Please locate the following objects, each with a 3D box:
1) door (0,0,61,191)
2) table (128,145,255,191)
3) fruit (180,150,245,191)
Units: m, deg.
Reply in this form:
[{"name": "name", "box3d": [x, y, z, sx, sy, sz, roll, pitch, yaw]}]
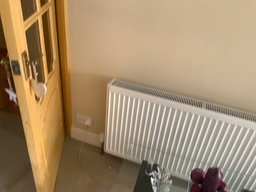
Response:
[{"name": "door", "box3d": [-0.450, -0.320, 1.030, 0.020, 2.080, 0.700, 1, 32, -9]}, {"name": "table", "box3d": [0.340, 0.690, 1.200, 0.690, 0.370, 0.530, 14, 33, 12]}, {"name": "fruit", "box3d": [0.410, 0.440, 1.080, 0.200, 0.200, 0.230, 5, 32, -2]}]
